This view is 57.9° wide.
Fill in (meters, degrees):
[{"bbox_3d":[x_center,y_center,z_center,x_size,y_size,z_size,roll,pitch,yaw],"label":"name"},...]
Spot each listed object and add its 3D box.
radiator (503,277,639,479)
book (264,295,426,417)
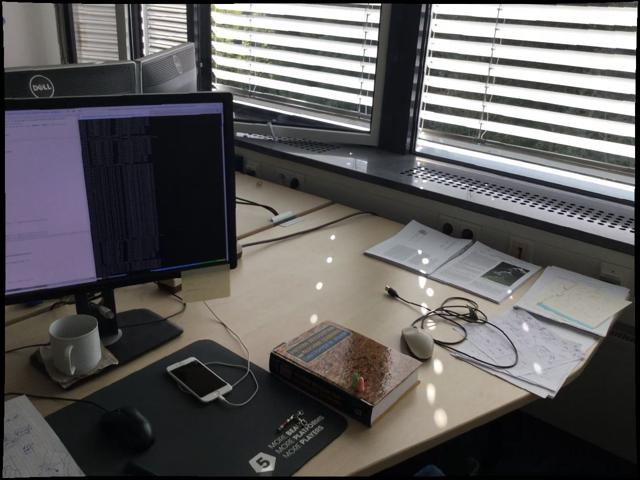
[{"bbox_3d":[0.919,0.470,1.920,0.450,0.510,0.270,21,31,33],"label":"radiator"},{"bbox_3d":[0.050,0.220,1.170,0.250,0.060,0.210,21,31,33],"label":"book"}]
